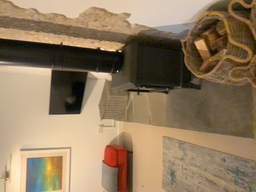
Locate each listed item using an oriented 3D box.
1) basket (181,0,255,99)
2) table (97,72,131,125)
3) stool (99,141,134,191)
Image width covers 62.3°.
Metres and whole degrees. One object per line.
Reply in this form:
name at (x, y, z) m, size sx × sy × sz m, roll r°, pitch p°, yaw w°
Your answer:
basket at (0.680, -0.270, 1.220) m, size 0.800 × 0.320 × 0.540 m, roll 172°, pitch 99°, yaw -69°
table at (-0.270, 0.050, 3.730) m, size 0.480 × 0.330 × 0.790 m, roll -113°, pitch 32°, yaw -48°
stool at (-0.220, 1.350, 3.820) m, size 0.620 × 0.450 × 0.960 m, roll 167°, pitch 104°, yaw -68°
